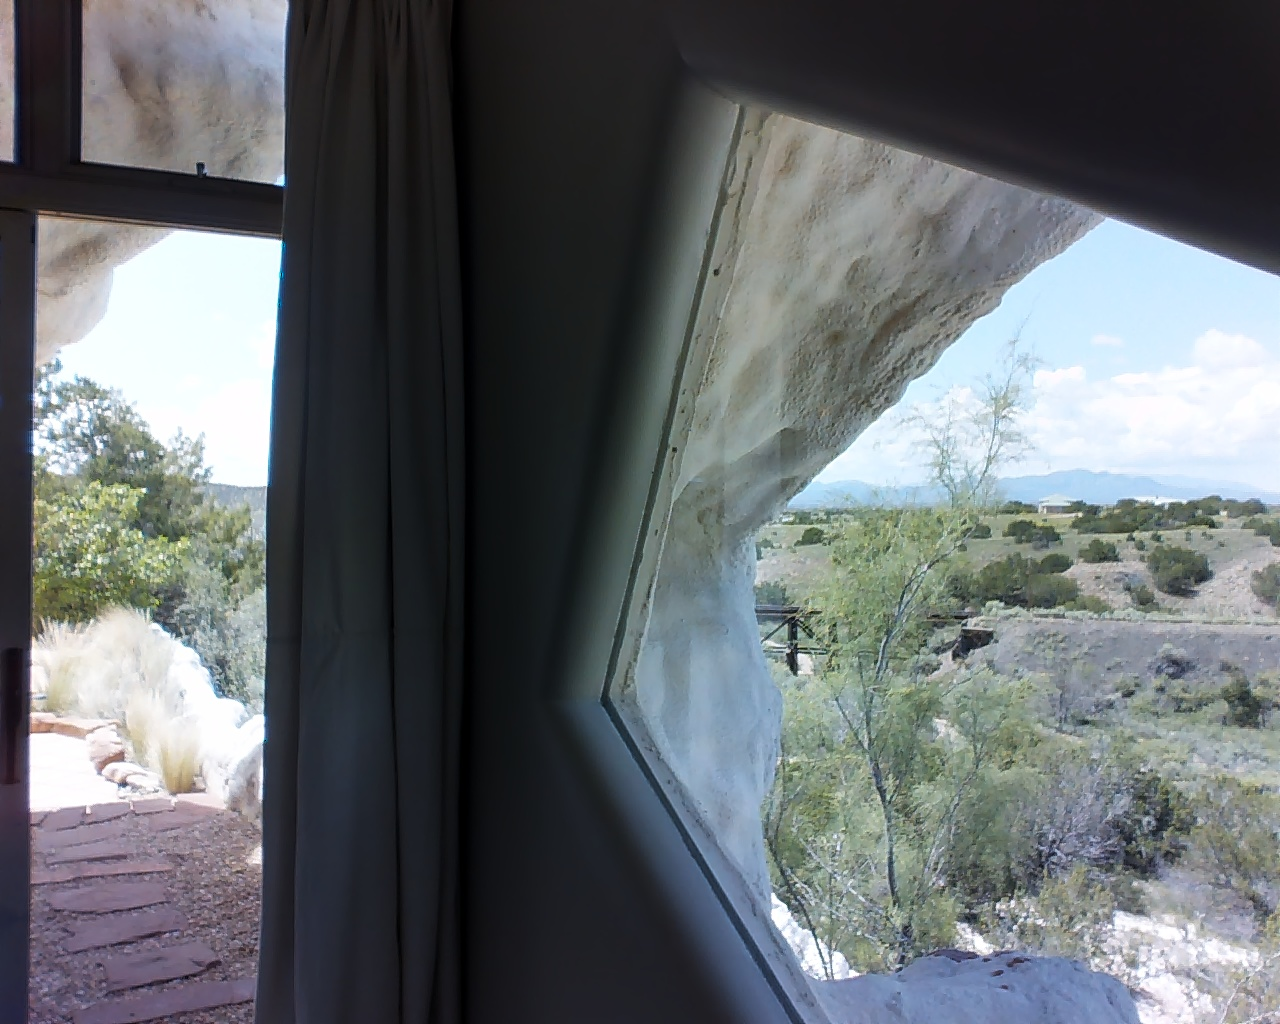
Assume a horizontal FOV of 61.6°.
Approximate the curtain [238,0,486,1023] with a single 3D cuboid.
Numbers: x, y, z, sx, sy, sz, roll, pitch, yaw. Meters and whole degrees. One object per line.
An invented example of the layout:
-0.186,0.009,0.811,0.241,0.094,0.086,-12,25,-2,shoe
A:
-0.600,-0.070,2.300,0.450,2.881,0.340,0,1,-26,curtain
